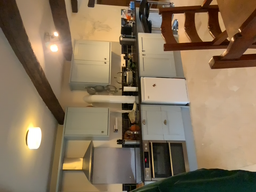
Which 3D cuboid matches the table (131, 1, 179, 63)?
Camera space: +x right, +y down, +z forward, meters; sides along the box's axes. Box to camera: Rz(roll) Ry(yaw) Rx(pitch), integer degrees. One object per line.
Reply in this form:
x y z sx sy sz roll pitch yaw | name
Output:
0.580 -1.480 4.940 0.620 0.900 1.230 106 165 -64 | table
